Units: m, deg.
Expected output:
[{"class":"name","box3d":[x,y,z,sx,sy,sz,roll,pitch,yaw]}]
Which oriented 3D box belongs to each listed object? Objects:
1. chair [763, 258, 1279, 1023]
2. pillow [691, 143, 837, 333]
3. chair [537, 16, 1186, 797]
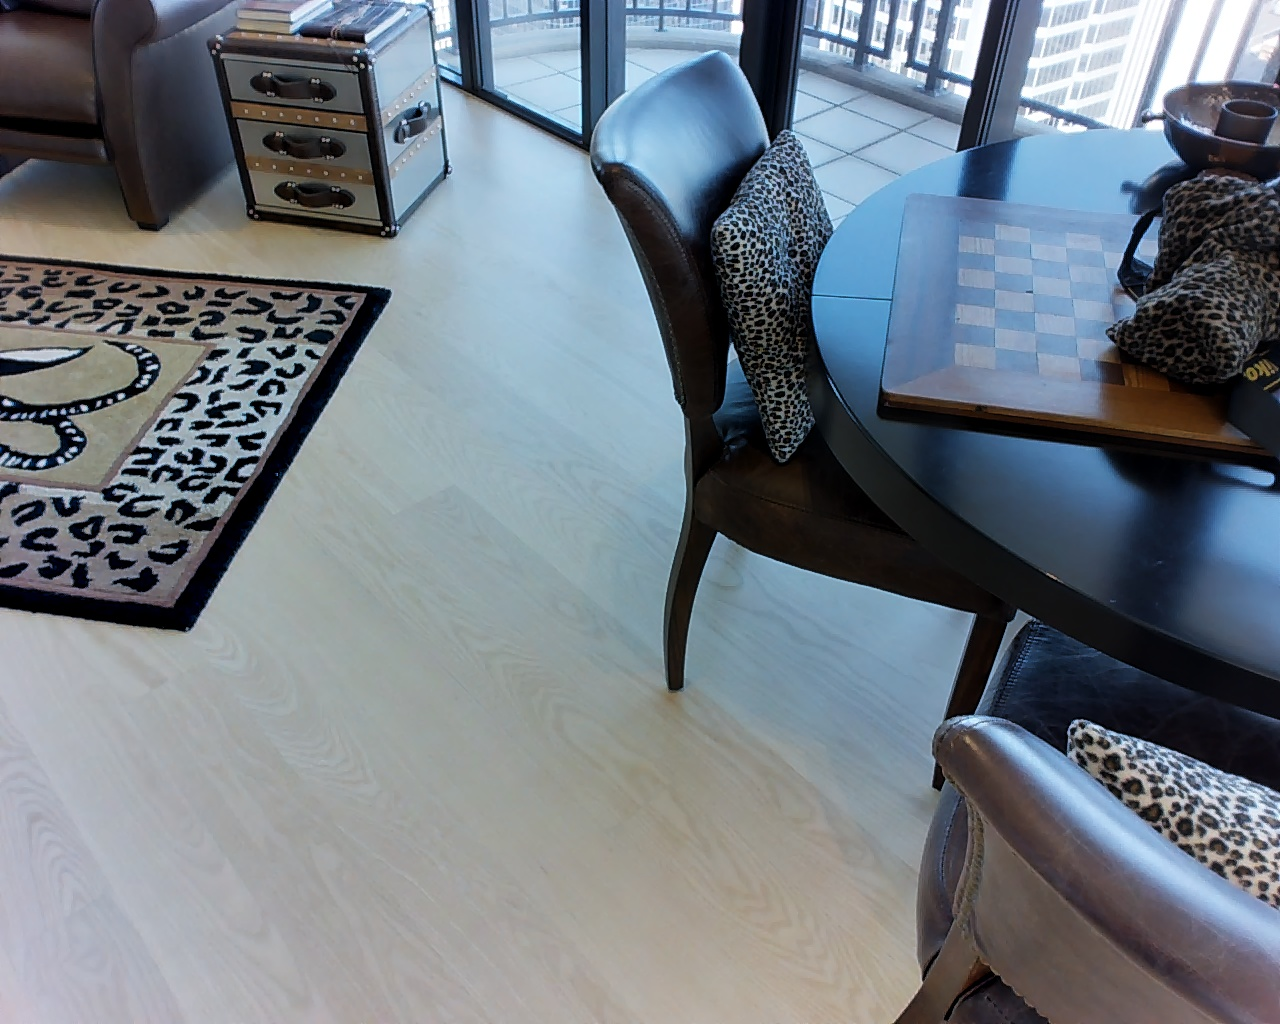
[{"class":"chair","box3d":[0.520,0.360,1.010,0.540,0.830,0.730,24,47,24]},{"class":"pillow","box3d":[0.180,-0.380,1.460,0.110,0.180,0.370,2,25,19]},{"class":"chair","box3d":[0.300,-0.160,1.600,0.670,0.850,0.580,15,44,16]}]
